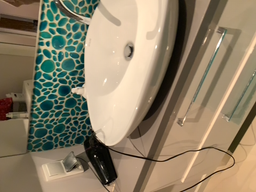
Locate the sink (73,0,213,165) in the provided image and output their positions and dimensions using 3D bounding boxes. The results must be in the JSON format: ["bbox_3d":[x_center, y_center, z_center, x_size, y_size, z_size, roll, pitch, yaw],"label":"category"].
[{"bbox_3d":[0.000,-0.150,0.690,0.380,0.130,0.610,44,125,45],"label":"sink"}]
